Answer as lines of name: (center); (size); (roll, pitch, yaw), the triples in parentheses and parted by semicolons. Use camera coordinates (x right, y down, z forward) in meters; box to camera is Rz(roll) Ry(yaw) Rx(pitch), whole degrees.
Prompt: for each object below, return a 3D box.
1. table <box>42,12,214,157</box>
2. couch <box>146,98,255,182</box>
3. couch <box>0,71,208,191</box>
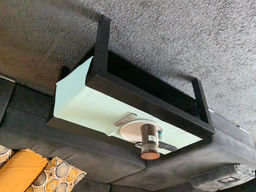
table: (0.020, 0.020, 1.450); (0.910, 0.450, 0.580); (25, 136, -31)
couch: (0.760, 0.510, 2.140); (0.950, 0.410, 0.650); (25, 137, -31)
couch: (-0.400, 0.800, 2.180); (2.450, 0.810, 1.100); (25, 137, -31)
